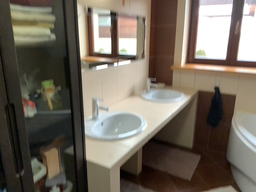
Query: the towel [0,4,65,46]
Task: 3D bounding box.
[{"bbox_3d":[-0.440,-0.320,0.980,0.140,0.160,0.240,10,19,30],"label":"towel"}]
